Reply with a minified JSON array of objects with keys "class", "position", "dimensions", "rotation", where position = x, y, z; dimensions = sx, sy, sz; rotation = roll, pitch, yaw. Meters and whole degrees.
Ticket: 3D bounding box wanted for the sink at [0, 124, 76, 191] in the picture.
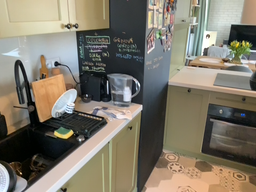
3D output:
[{"class":"sink","position":[-0.560,0.370,1.150],"dimensions":[0.450,0.250,0.270],"rotation":[11,23,24]}]
